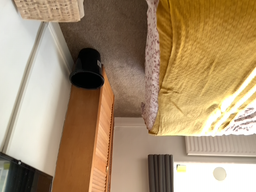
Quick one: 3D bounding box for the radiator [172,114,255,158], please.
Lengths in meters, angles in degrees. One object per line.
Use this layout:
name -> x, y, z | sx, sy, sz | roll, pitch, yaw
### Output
radiator -> 1.260, 0.530, 2.870 | 1.260, 0.570, 0.100 | 0, 151, 2
